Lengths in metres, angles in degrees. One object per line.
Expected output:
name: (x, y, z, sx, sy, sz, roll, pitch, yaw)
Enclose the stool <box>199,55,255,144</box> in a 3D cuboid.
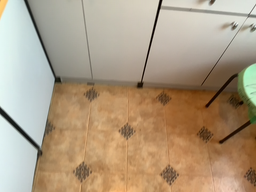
stool: (0.690, 0.050, 1.260, 0.330, 0.460, 0.330, 4, 61, -3)
